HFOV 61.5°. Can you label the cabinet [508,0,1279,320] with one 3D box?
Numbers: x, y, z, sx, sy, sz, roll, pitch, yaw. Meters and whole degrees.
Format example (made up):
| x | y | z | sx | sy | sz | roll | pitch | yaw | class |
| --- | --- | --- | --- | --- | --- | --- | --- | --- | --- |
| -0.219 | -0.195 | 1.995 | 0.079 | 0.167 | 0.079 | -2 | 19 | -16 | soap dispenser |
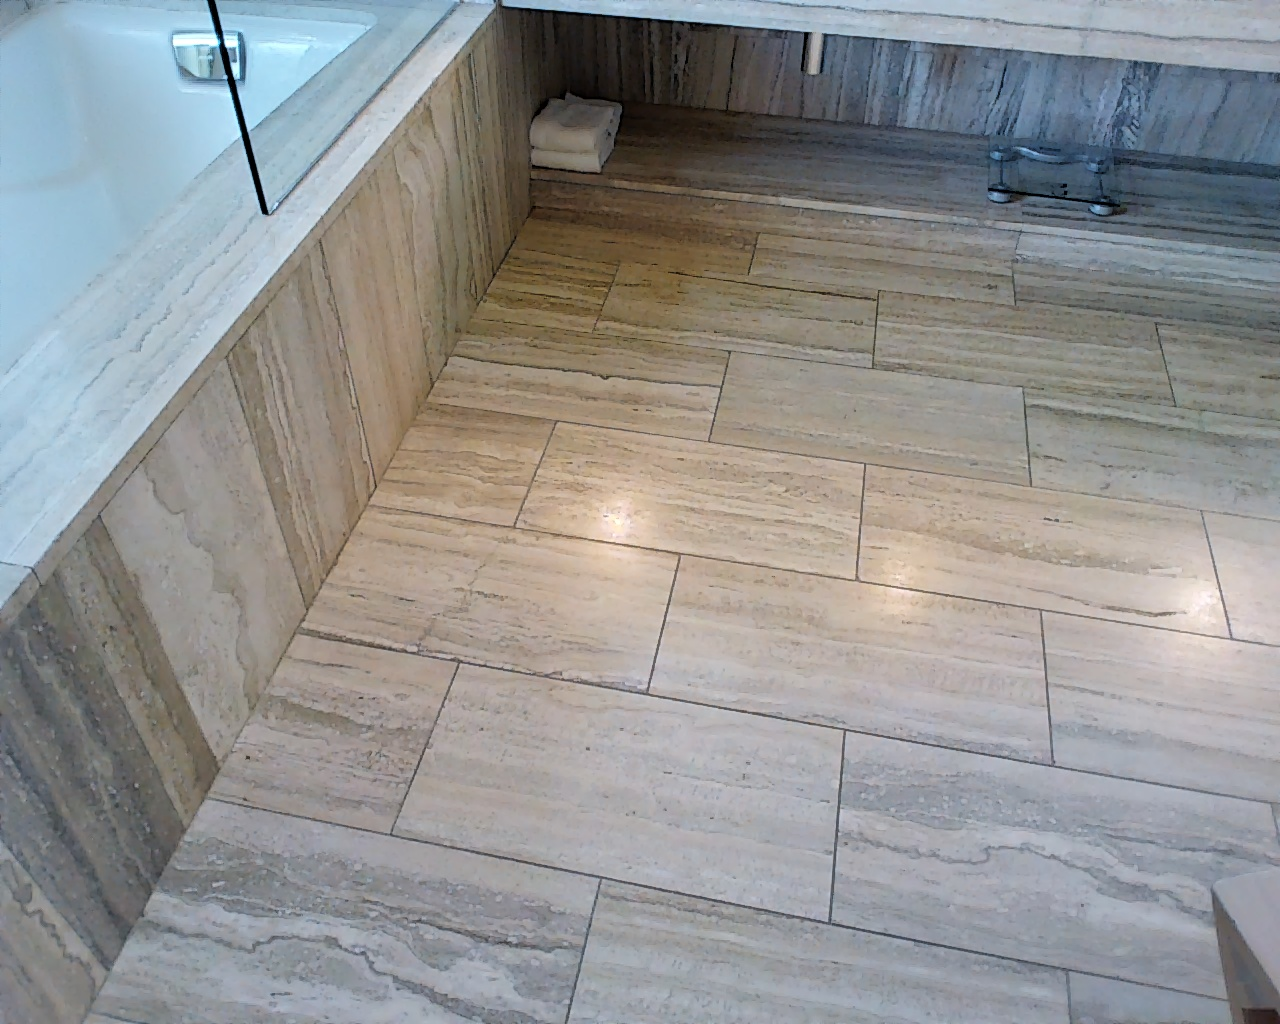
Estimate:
| x | y | z | sx | sy | sz | roll | pitch | yaw | class |
| --- | --- | --- | --- | --- | --- | --- | --- | --- | --- |
| 0.960 | -0.880 | 2.510 | 2.410 | 0.460 | 0.630 | 8 | 45 | 9 | cabinet |
